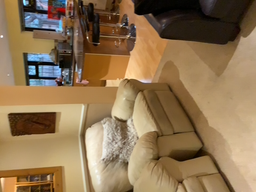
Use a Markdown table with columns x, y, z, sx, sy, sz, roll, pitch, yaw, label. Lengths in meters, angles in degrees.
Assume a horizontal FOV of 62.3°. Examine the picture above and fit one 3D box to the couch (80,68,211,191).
| x | y | z | sx | sy | sz | roll | pitch | yaw | label |
| --- | --- | --- | --- | --- | --- | --- | --- | --- | --- |
| 0.040 | 0.450 | 2.530 | 1.120 | 0.990 | 1.050 | -111 | 29 | -43 | couch |
